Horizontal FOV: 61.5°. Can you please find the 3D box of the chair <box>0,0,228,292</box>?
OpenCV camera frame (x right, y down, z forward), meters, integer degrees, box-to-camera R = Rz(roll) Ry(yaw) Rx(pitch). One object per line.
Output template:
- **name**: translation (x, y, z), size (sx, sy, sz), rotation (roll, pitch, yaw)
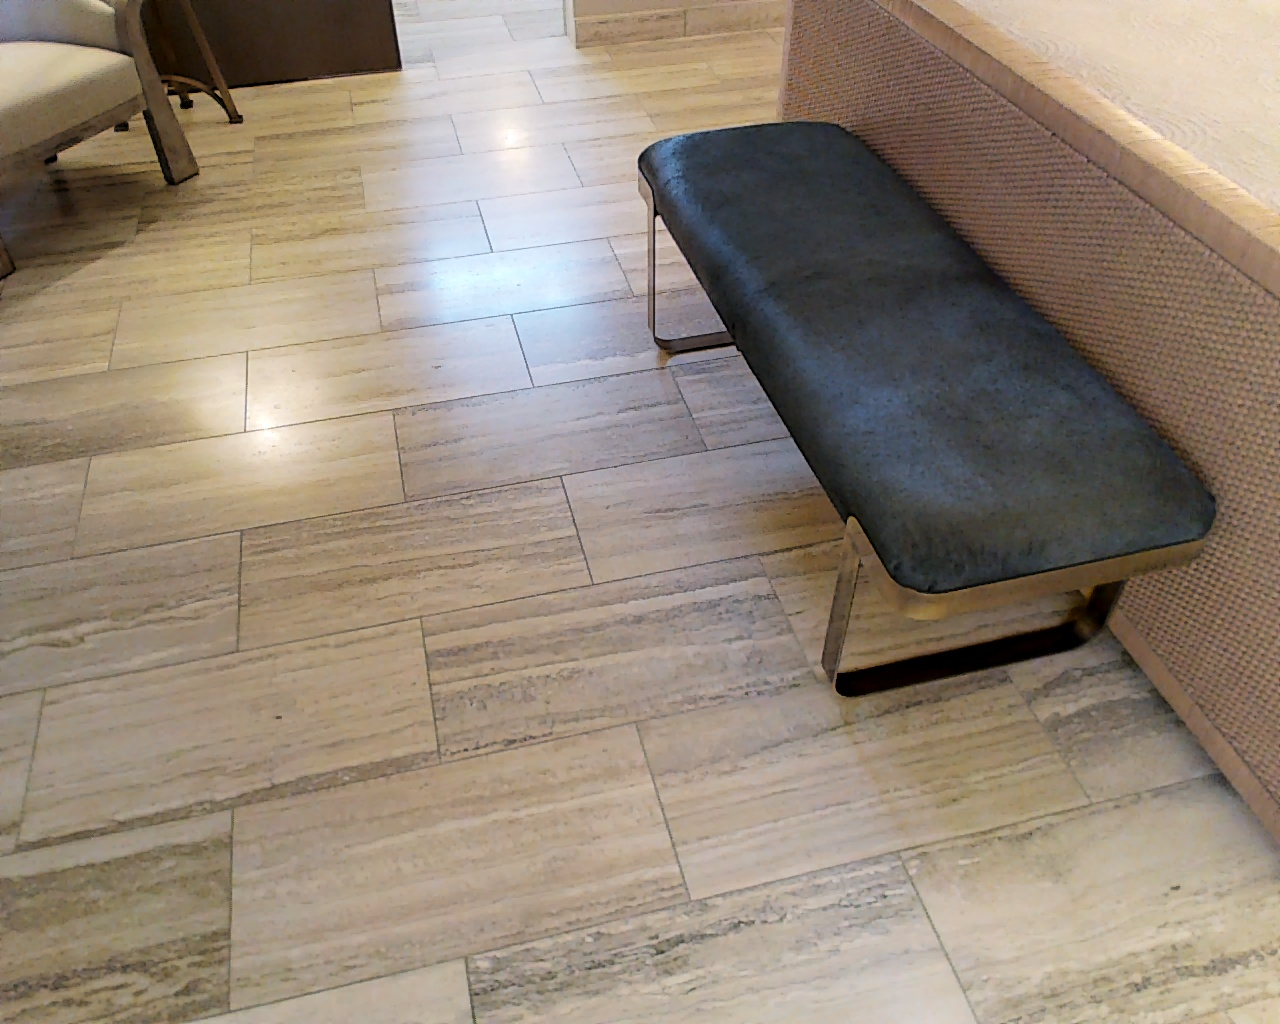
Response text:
- **chair**: translation (-1.750, -1.150, 2.840), size (0.710, 0.730, 0.820), rotation (21, 46, 23)
